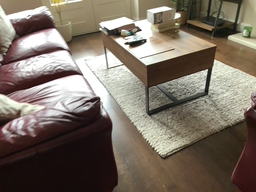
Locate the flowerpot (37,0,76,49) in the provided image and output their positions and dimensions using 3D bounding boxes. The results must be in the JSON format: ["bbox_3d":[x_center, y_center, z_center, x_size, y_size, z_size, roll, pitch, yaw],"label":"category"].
[{"bbox_3d":[-1.070,-1.190,3.110,0.360,0.860,0.330,-17,36,-17],"label":"flowerpot"}]

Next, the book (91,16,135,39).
[{"bbox_3d":[-0.150,-0.650,1.980,0.300,0.070,0.380,-17,36,-16],"label":"book"}]
